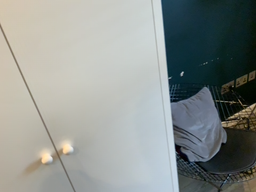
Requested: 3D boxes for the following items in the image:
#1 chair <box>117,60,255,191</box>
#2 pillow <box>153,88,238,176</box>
[{"bbox_3d":[0.540,0.320,1.450,0.860,0.760,0.690,-28,33,-27],"label":"chair"},{"bbox_3d":[0.470,0.220,1.460,0.500,0.480,0.180,-8,-6,-30],"label":"pillow"}]
